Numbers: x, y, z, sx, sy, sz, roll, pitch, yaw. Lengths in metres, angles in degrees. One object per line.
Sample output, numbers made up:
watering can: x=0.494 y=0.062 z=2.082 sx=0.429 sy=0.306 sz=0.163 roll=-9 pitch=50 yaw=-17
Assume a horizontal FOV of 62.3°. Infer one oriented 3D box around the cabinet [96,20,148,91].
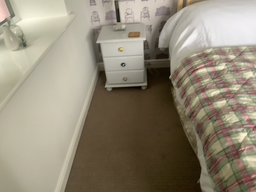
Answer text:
cabinet: x=-0.030 y=-0.430 z=2.280 sx=0.460 sy=0.580 sz=0.470 roll=-2 pitch=38 yaw=4
